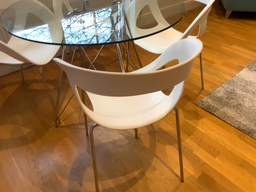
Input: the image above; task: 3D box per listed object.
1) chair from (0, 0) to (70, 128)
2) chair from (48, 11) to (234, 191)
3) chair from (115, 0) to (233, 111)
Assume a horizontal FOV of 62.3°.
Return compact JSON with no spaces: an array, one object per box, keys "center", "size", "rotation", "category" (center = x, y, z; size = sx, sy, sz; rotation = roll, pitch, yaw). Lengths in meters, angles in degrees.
[{"center":[-0.780,-0.260,1.460],"size":[0.530,0.780,0.550],"rotation":[-3,39,-2],"category":"chair"},{"center":[0.000,0.060,1.070],"size":[0.590,0.740,0.520],"rotation":[-12,40,-13],"category":"chair"},{"center":[0.300,-0.430,1.660],"size":[0.520,0.750,0.610],"rotation":[-27,46,-28],"category":"chair"}]
